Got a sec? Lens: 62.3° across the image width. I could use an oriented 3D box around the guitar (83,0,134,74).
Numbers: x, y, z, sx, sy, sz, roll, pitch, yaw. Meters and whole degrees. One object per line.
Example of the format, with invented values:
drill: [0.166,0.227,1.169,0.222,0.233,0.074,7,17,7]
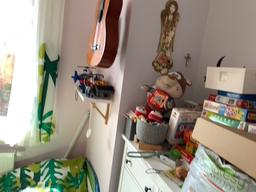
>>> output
guitar: [-0.110,-0.710,1.300,0.230,1.100,0.370,3,10,-16]
